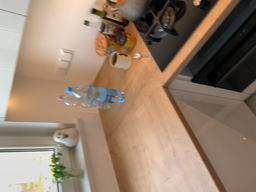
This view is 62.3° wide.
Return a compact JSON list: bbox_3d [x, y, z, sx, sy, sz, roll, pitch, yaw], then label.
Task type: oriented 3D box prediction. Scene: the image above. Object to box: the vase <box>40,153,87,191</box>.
[{"bbox_3d":[-0.380,0.440,1.240,0.150,0.210,0.140,-53,44,36],"label":"vase"}]
